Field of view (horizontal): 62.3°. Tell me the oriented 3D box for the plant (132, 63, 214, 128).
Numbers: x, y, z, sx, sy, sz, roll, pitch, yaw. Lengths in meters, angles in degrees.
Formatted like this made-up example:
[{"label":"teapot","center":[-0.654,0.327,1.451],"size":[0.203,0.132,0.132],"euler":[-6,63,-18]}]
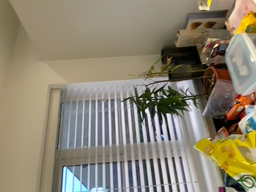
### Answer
[{"label":"plant","center":[0.240,0.000,1.280],"size":[0.250,0.400,0.280],"euler":[91,174,-61]}]
